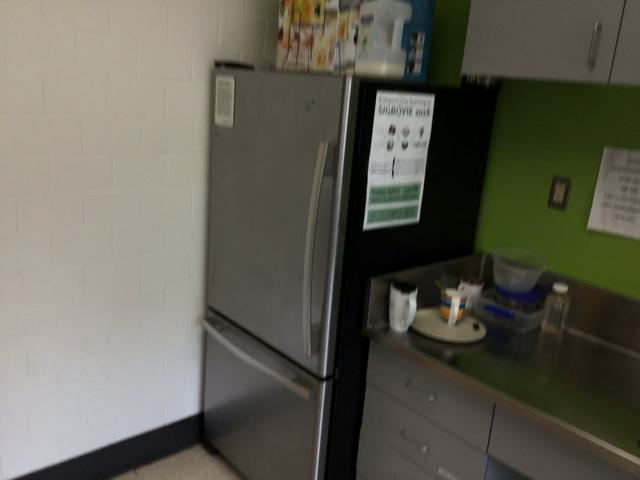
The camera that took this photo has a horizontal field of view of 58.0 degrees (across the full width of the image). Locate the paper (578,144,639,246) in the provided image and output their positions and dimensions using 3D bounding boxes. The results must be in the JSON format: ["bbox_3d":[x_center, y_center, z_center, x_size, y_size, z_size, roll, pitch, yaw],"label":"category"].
[{"bbox_3d":[0.950,-0.140,1.790,0.040,0.280,0.230,-7,20,-42],"label":"paper"}]
